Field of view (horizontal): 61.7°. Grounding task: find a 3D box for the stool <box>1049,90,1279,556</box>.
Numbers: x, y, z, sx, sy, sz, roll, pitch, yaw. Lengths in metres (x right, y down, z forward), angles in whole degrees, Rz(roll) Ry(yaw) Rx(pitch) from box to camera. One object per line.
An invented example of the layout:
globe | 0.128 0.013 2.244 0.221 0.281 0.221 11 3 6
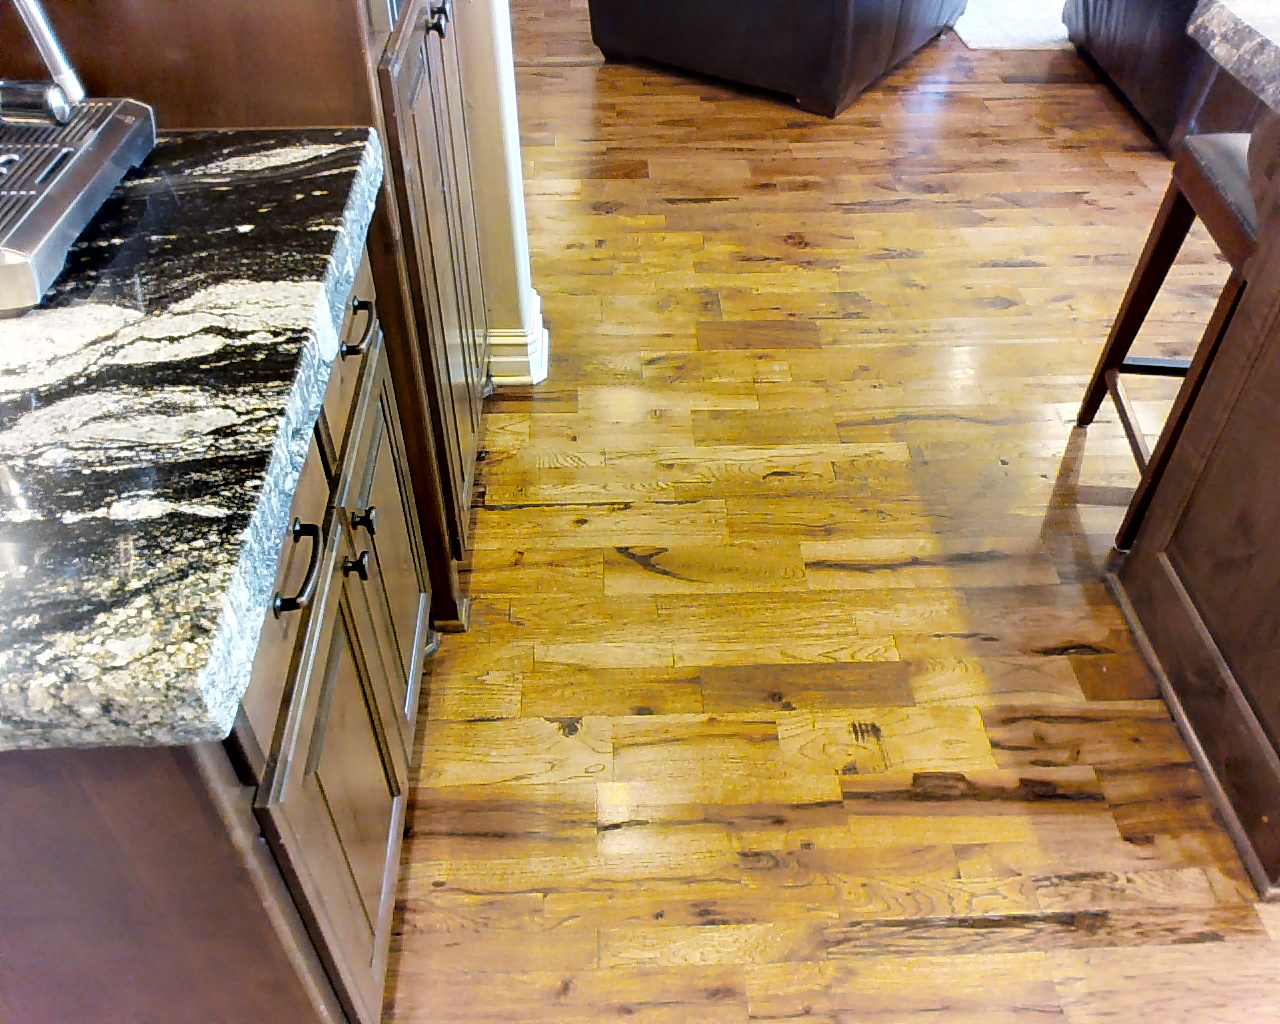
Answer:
stool | 1.210 -0.340 1.980 0.580 0.690 0.480 -2 44 -2
